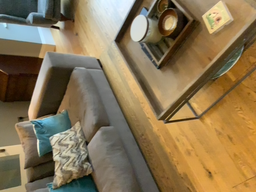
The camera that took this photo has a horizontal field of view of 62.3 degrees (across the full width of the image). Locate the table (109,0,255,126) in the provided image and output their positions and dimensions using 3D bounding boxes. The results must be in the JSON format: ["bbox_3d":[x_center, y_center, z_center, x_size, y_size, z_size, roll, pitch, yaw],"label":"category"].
[{"bbox_3d":[0.370,-0.400,1.410,0.800,0.410,0.860,-53,51,37],"label":"table"}]
